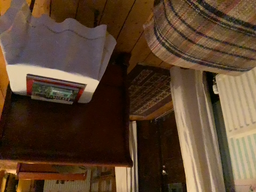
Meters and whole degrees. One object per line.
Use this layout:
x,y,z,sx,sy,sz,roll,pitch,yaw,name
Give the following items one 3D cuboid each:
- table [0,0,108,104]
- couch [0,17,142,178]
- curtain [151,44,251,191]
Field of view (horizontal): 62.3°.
-0.440,-0.290,1.350,0.510,0.510,0.410,9,155,-21,table
-0.650,0.270,2.090,0.880,0.930,1.660,9,155,-22,couch
0.540,0.940,1.480,0.410,2.690,0.540,8,155,-19,curtain
